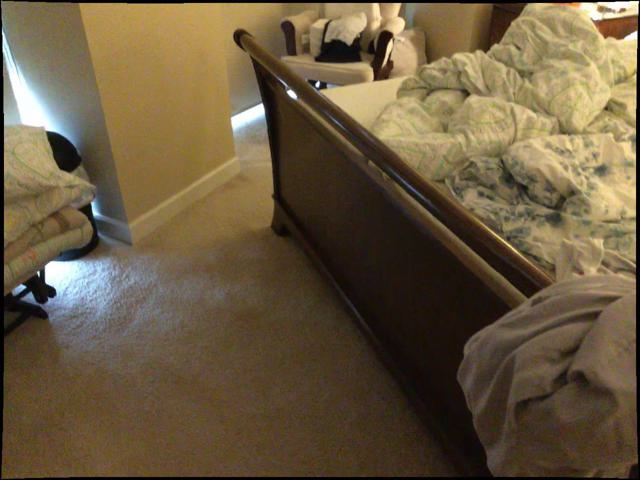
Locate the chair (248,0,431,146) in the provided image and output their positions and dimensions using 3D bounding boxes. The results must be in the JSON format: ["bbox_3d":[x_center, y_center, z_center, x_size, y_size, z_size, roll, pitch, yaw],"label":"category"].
[{"bbox_3d":[0.160,-1.273,3.530,0.808,0.962,0.940,13,37,18],"label":"chair"}]

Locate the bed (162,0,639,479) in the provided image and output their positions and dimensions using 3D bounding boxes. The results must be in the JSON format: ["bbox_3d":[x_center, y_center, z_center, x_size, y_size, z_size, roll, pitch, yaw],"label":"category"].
[{"bbox_3d":[1.057,-0.341,1.880,2.635,1.322,2.141,-14,37,-19],"label":"bed"}]
